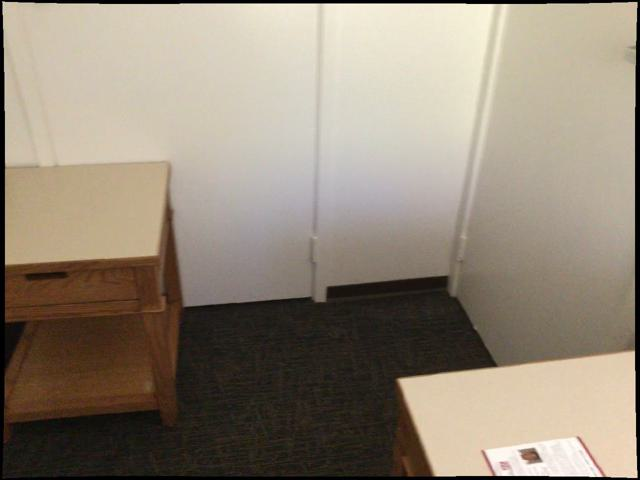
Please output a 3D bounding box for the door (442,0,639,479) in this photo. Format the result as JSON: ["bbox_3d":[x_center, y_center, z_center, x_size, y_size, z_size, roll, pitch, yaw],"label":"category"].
[{"bbox_3d":[0.569,-0.050,1.520,0.070,1.162,0.841,-6,34,-9],"label":"door"}]

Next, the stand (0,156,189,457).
[{"bbox_3d":[-0.708,0.170,1.680,0.559,0.601,0.560,-6,34,-8],"label":"stand"}]

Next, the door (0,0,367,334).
[{"bbox_3d":[-0.359,-0.271,1.750,0.978,1.262,0.070,-6,34,-9],"label":"door"}]
